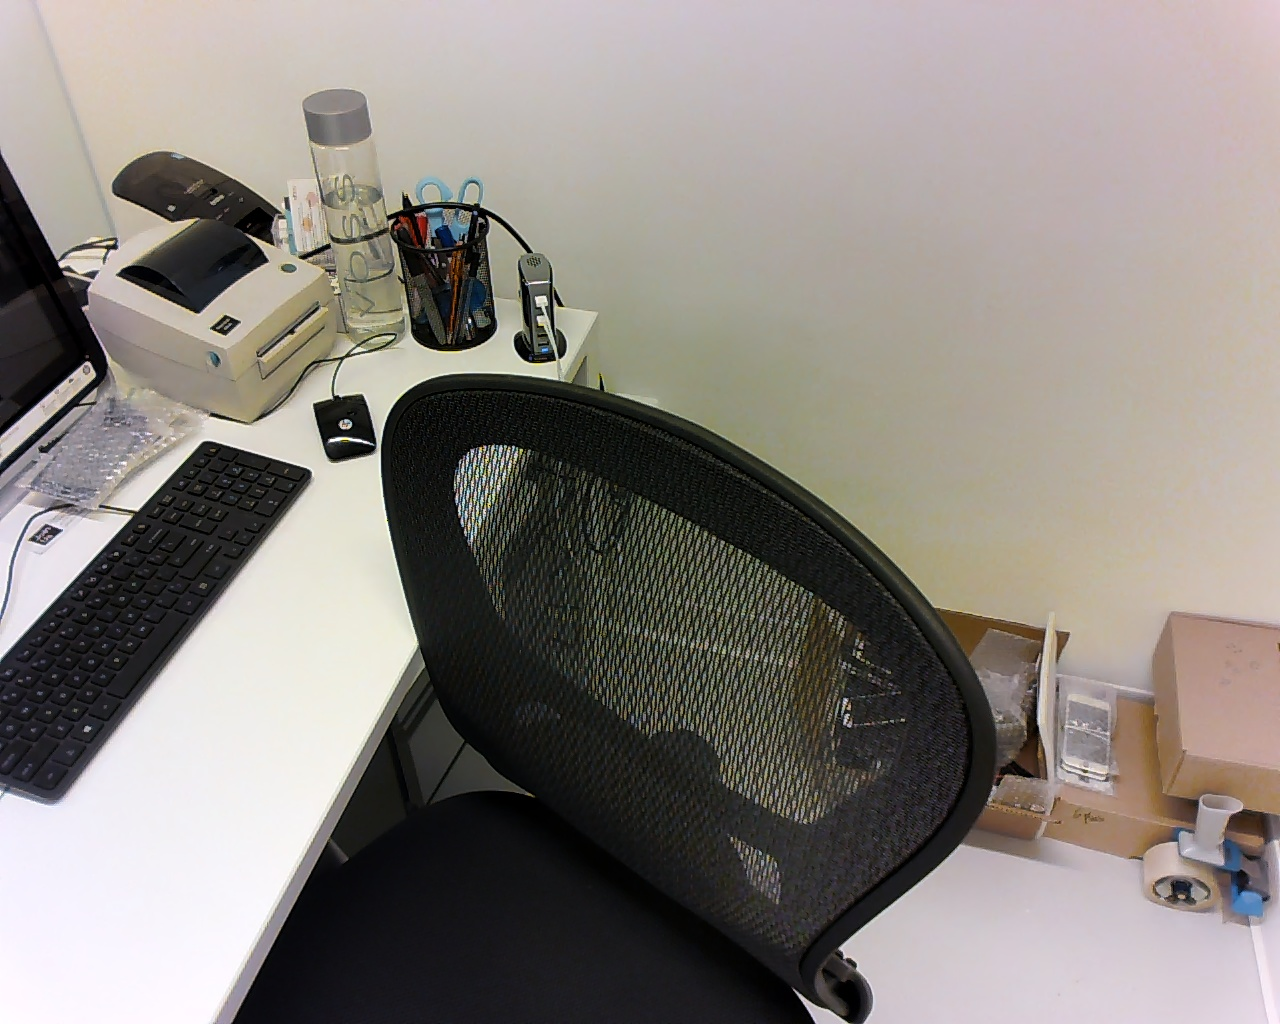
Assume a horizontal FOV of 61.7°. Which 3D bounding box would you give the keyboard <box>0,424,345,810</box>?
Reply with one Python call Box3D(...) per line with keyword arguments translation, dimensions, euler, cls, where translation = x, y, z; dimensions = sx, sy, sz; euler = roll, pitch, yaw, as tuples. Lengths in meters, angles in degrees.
Box3D(translation=(-0.450, 0.070, 1.010), dimensions=(0.150, 0.030, 0.440), euler=(10, 43, 11), cls="keyboard")
